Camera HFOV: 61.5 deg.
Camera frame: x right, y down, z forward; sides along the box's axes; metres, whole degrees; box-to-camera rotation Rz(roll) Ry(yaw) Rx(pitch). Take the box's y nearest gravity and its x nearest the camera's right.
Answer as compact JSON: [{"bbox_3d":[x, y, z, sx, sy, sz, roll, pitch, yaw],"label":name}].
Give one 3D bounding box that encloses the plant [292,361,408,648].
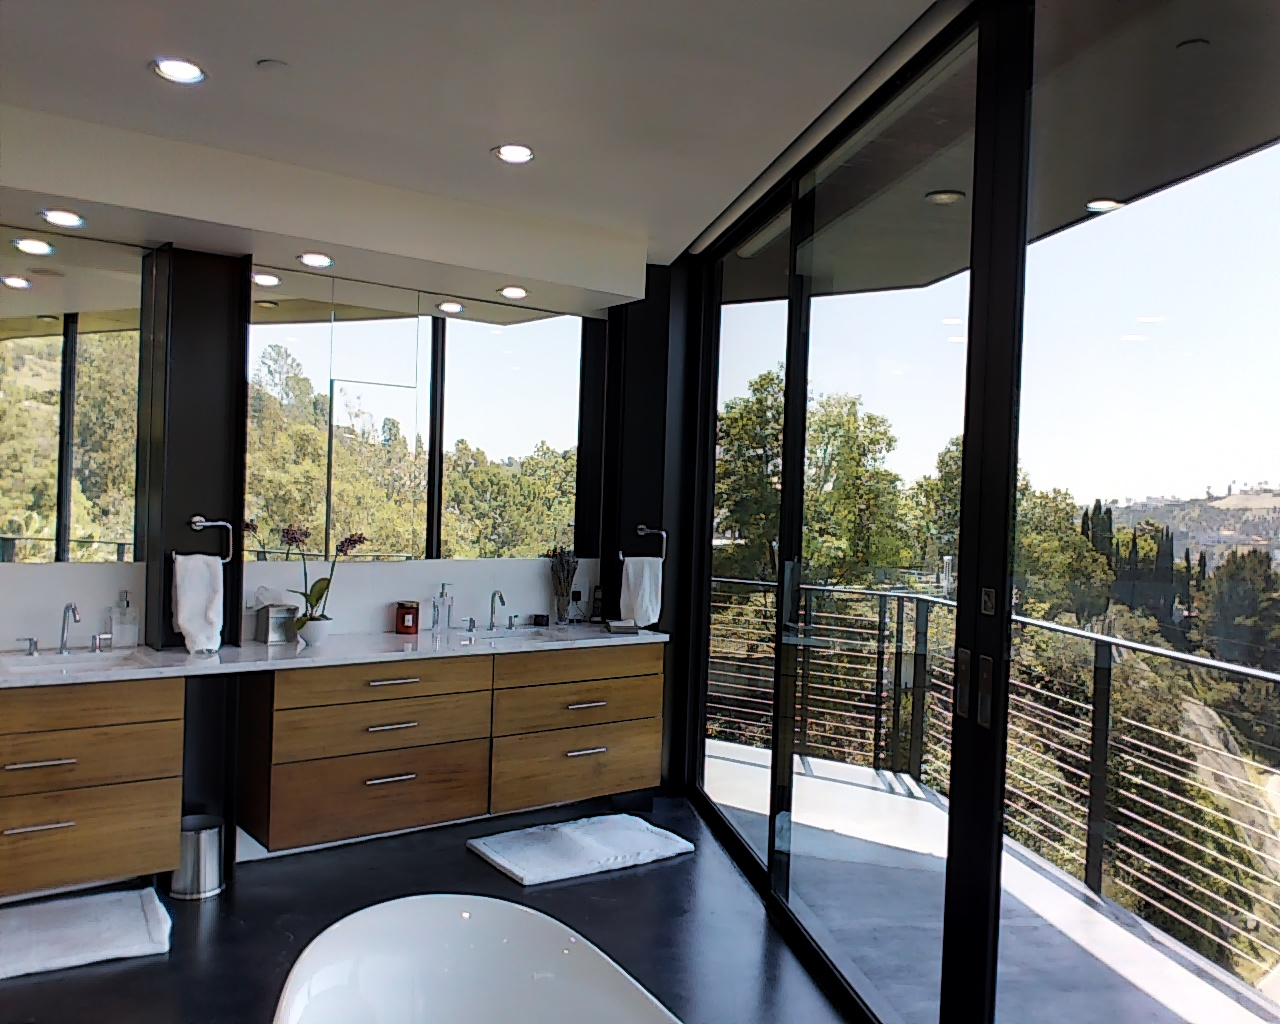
[{"bbox_3d":[-1.200,-0.030,4.430,0.310,1.110,0.440,2,1,-32],"label":"plant"}]
